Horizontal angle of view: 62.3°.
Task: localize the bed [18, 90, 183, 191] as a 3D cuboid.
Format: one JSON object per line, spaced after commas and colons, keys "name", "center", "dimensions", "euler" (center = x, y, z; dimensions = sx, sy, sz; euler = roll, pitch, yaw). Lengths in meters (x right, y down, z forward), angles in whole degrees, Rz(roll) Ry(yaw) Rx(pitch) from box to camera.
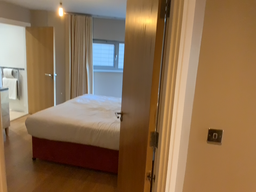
{"name": "bed", "center": [-0.220, 0.480, 3.480], "dimensions": [2.080, 0.670, 1.850], "euler": [6, 12, 15]}
